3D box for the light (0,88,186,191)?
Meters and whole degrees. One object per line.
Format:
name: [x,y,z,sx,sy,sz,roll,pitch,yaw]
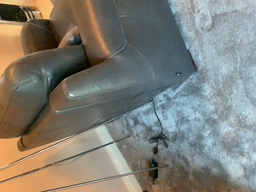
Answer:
light: [-0.500,0.440,1.090,0.470,1.500,0.720,56,134,28]
